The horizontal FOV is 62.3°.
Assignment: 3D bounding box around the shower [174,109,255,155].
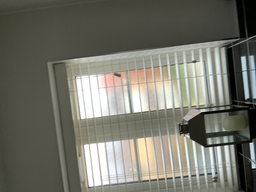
[{"bbox_3d":[0.430,0.170,1.060,0.180,0.340,0.160,58,-155,-89],"label":"shower"}]
